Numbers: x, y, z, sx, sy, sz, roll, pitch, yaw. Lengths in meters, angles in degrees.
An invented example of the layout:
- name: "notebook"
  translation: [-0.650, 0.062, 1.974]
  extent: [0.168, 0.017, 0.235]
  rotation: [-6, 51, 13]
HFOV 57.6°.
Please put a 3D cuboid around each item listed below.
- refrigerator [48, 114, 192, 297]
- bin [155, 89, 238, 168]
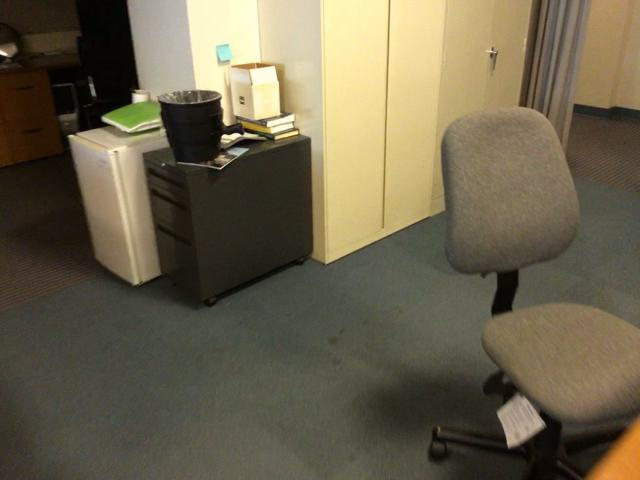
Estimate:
- name: "refrigerator"
  translation: [-1.000, -0.200, 2.930]
  extent: [0.380, 0.720, 0.610]
  rotation: [-20, 31, -39]
- name: "bin"
  translation: [-0.520, -0.480, 2.470]
  extent: [0.240, 0.260, 0.230]
  rotation: [-20, 31, -39]
